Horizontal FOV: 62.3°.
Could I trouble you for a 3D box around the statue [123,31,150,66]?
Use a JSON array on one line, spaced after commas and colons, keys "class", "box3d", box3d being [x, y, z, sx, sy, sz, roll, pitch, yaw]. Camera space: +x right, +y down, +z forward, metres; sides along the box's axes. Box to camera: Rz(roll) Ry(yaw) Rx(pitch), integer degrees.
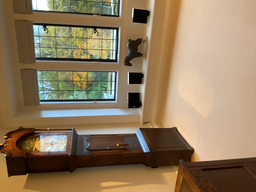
[{"class": "statue", "box3d": [0.130, -0.760, 3.400, 0.250, 0.340, 0.480, -117, 29, -62]}]
